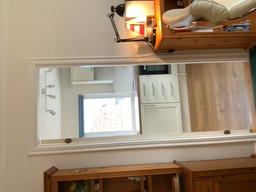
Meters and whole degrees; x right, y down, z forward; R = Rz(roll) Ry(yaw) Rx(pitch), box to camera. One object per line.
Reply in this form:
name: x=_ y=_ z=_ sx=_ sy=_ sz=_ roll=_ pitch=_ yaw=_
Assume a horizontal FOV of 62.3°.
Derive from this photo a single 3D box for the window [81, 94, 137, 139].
window: x=-0.400 y=0.420 z=4.390 sx=0.250 sy=1.100 sz=0.850 roll=111 pitch=156 yaw=-80
